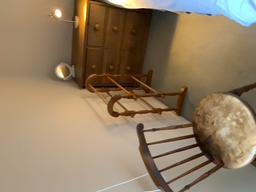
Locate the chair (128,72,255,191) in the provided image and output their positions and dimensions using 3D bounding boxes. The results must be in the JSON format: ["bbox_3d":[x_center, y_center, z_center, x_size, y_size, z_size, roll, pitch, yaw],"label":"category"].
[{"bbox_3d":[0.500,0.200,1.260,0.480,0.770,0.530,47,132,48],"label":"chair"}]
